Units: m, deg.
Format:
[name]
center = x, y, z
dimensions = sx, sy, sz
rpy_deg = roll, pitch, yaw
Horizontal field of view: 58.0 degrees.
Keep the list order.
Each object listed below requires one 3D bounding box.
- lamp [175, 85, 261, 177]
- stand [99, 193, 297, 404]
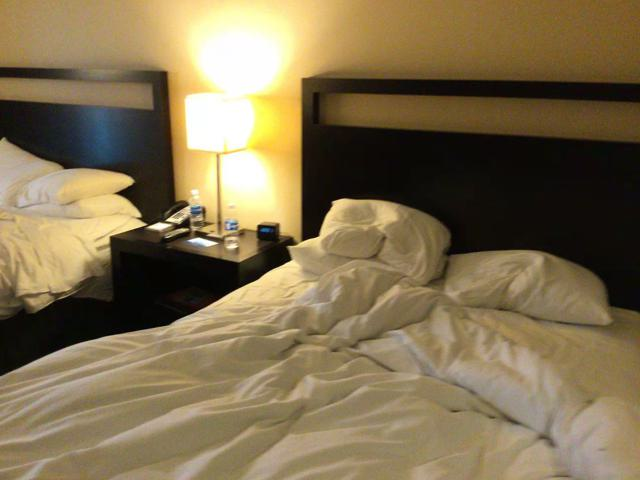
[lamp]
center = -0.490, -0.530, 2.780
dimensions = 0.270, 0.390, 0.300
rpy_deg = 11, 16, 26
[stand]
center = -0.610, 0.240, 2.900
dimensions = 0.790, 0.790, 0.520
rpy_deg = 11, 16, 26
